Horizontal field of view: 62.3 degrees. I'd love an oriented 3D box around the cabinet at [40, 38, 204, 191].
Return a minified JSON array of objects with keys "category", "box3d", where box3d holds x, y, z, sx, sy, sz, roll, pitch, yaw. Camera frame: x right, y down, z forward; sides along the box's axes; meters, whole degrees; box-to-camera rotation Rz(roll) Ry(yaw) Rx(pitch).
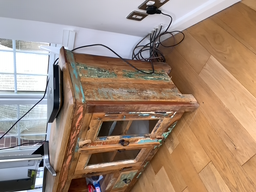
[{"category":"cabinet","box3d":[-0.270,0.520,1.650,0.520,0.650,1.790,65,144,41]}]
